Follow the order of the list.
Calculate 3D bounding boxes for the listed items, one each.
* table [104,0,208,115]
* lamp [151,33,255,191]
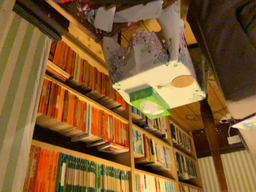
[{"bbox_3d":[0.130,-0.240,1.100,0.350,0.510,0.360,-21,145,28],"label":"table"},{"bbox_3d":[0.500,0.400,1.240,0.440,1.520,0.430,-19,146,25],"label":"lamp"}]
